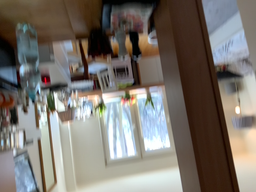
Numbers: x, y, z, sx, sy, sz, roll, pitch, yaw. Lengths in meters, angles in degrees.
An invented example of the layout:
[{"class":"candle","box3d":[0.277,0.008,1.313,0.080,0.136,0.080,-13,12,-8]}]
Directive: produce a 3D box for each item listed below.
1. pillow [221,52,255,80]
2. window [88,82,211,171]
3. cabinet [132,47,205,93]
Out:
[{"class":"pillow","box3d":[2.150,-0.570,4.130,0.370,0.380,0.490,-8,173,-9]},{"class":"window","box3d":[0.510,0.630,4.810,2.590,1.590,0.130,-8,173,-10]},{"class":"cabinet","box3d":[0.910,-0.590,4.820,1.470,0.790,0.380,-8,173,-9]}]
